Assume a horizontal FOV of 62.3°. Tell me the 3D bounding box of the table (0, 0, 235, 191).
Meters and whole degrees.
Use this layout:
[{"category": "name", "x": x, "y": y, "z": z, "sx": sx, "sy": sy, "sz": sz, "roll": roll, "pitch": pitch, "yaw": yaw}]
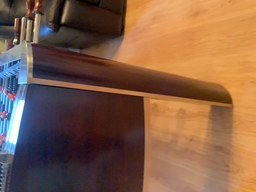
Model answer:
[{"category": "table", "x": -0.410, "y": 0.260, "z": 1.360, "sx": 1.700, "sy": 0.880, "sz": 0.920, "roll": 1, "pitch": 86, "yaw": 54}]
